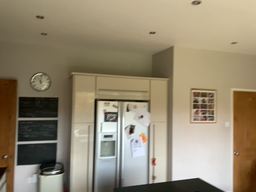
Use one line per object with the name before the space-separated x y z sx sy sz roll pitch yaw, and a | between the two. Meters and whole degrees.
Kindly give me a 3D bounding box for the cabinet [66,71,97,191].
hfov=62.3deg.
cabinet | -0.770 0.710 3.430 0.320 2.130 0.700 2 -2 -21
